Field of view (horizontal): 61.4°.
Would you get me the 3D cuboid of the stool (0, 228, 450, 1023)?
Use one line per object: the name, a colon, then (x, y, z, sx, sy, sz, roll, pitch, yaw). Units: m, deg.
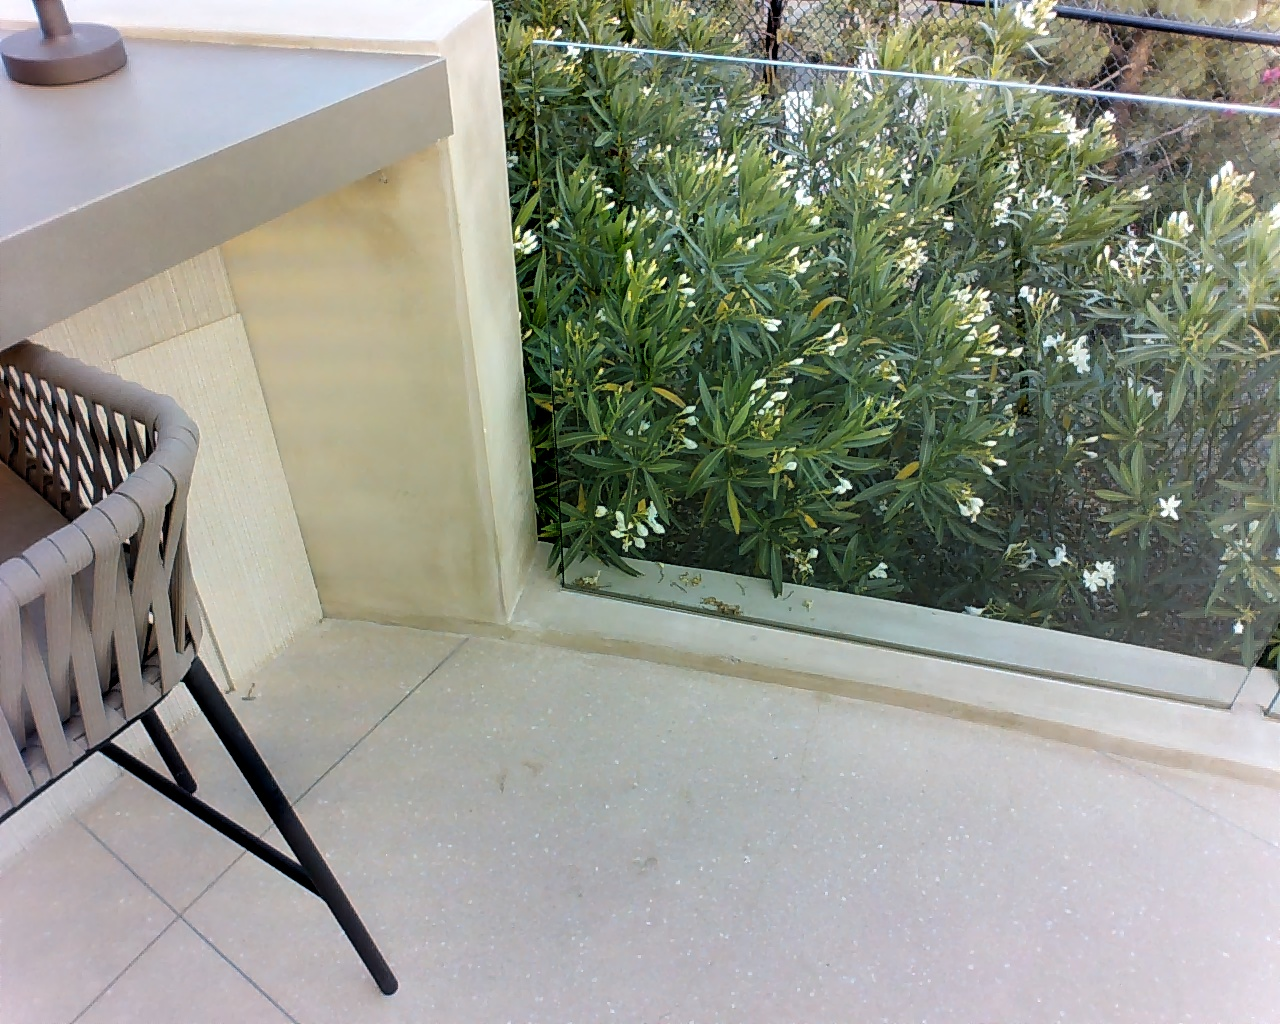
stool: (-0.730, 0.330, 1.230, 0.710, 1.110, 0.570, 27, 47, 27)
